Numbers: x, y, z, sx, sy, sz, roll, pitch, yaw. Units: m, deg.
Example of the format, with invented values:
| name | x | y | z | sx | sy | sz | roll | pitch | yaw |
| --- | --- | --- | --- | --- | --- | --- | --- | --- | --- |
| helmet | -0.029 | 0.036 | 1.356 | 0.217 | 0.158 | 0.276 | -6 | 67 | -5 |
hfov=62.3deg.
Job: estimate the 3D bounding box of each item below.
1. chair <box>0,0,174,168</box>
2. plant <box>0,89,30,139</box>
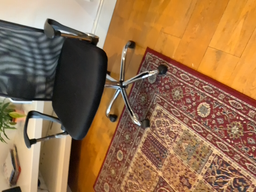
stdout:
| name | x | y | z | sx | sy | sz | roll | pitch | yaw |
| --- | --- | --- | --- | --- | --- | --- | --- | --- | --- |
| chair | -0.450 | -0.110 | 1.270 | 0.700 | 1.140 | 0.650 | 36 | 114 | 44 |
| plant | -1.180 | 0.160 | 1.920 | 0.230 | 0.420 | 0.390 | 39 | 116 | 43 |
